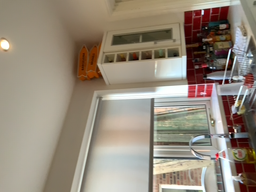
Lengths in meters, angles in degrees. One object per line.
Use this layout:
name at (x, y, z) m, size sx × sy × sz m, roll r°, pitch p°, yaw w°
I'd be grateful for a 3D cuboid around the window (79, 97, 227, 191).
window at (0.190, 0.620, 1.840) m, size 0.070 × 1.180 × 1.400 m, roll 72°, pitch -160°, yaw -52°
